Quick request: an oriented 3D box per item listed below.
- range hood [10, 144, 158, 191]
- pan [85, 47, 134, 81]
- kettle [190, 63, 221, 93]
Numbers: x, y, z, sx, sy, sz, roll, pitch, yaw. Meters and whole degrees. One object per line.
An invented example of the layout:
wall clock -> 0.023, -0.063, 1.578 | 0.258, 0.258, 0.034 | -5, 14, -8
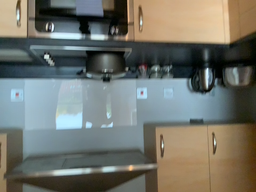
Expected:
range hood -> -0.280, 0.700, 1.500 | 0.870, 0.590, 0.480 | -1, 177, -12
pan -> -0.140, -0.200, 1.420 | 0.290, 0.160, 0.320 | -1, 177, -12
kettle -> 0.680, -0.150, 1.870 | 0.180, 0.240, 0.170 | 0, 177, -13
